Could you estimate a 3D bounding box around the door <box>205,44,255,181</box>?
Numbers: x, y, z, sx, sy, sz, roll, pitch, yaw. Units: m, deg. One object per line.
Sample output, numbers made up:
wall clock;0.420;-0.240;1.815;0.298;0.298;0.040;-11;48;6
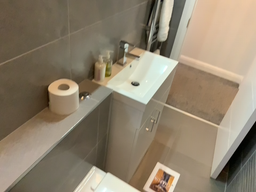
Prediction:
door;1.010;-0.270;1.550;0.070;1.970;0.840;22;39;15
